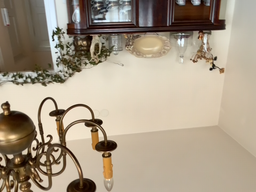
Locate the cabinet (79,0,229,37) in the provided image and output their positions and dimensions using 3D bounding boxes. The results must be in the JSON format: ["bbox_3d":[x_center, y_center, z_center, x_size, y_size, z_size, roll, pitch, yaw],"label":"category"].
[{"bbox_3d":[0.210,-0.860,1.810,1.220,0.620,0.340,-4,-159,-8],"label":"cabinet"}]
